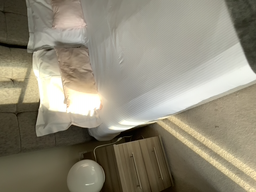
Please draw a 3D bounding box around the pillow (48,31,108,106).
[{"bbox_3d":[-0.370,-0.200,1.560,0.130,0.290,0.520,-36,65,42],"label":"pillow"}]
